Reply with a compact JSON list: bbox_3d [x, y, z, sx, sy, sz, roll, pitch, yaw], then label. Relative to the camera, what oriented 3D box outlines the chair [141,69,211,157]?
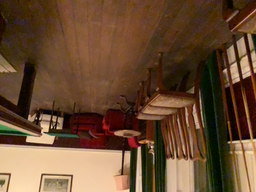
[{"bbox_3d":[0.600,0.260,2.820,0.690,1.010,0.580,6,165,-8],"label":"chair"}]
